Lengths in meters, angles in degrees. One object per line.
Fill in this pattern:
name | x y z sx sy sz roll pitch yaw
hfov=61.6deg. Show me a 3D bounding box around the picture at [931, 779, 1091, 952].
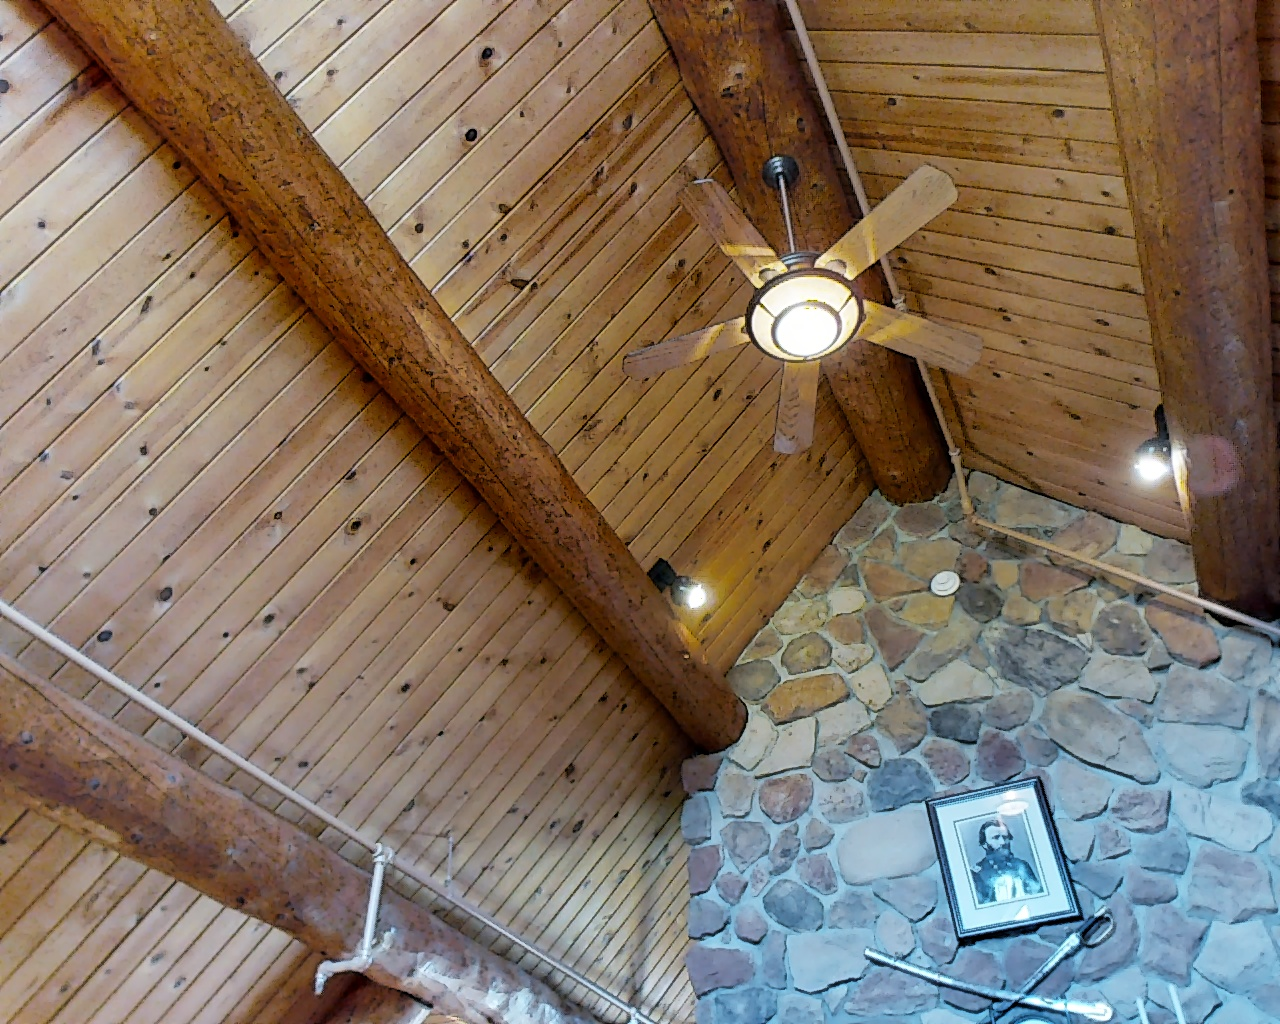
picture | 1.469 1.411 4.310 0.490 0.600 0.060 -17 -44 19
